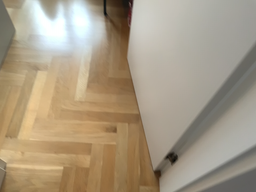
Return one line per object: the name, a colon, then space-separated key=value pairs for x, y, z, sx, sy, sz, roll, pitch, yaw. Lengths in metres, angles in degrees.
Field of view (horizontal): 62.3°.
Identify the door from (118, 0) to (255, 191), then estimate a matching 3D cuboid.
door: x=0.190 y=-0.390 z=0.520 sx=0.120 sy=2.100 sz=1.000 roll=-8 pitch=60 yaw=-11
